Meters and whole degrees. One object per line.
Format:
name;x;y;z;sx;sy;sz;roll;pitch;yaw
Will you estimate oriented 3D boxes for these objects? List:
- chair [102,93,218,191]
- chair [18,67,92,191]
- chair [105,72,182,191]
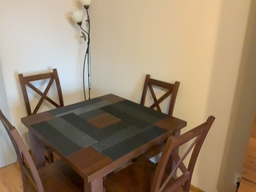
chair;0.150;0.540;1.310;0.410;0.970;0.470;-16;27;-42
chair;-0.660;0.270;1.980;0.410;0.970;0.480;-16;26;-41
chair;0.110;0.340;1.870;0.470;0.980;0.410;-16;27;-42
